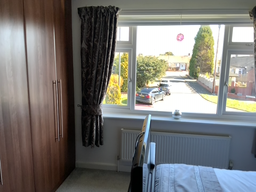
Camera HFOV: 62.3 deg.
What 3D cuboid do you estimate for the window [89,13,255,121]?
[{"bbox_3d":[0.710,-0.410,2.990,2.500,1.370,0.290,2,10,7],"label":"window"}]
